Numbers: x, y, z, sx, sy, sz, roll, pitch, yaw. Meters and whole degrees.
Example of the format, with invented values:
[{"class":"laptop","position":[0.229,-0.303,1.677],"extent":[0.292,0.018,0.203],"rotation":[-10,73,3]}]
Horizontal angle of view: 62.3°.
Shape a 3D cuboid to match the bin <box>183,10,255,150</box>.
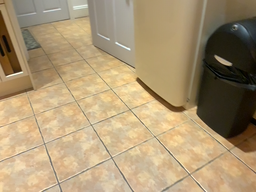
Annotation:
[{"class":"bin","position":[0.630,-0.090,1.280],"extent":[0.310,0.690,0.380],"rotation":[-19,41,-23]}]
